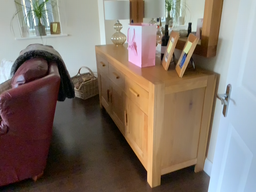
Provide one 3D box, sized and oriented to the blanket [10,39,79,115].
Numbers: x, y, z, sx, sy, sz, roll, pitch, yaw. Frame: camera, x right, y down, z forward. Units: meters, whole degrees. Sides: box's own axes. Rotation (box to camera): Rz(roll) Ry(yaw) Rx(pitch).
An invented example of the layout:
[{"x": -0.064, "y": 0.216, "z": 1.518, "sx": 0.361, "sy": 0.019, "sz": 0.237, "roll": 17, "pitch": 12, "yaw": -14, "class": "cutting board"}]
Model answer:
[{"x": -0.840, "y": -0.230, "z": 2.200, "sx": 0.510, "sy": 0.610, "sz": 0.470, "roll": -11, "pitch": 25, "yaw": -20, "class": "blanket"}]
